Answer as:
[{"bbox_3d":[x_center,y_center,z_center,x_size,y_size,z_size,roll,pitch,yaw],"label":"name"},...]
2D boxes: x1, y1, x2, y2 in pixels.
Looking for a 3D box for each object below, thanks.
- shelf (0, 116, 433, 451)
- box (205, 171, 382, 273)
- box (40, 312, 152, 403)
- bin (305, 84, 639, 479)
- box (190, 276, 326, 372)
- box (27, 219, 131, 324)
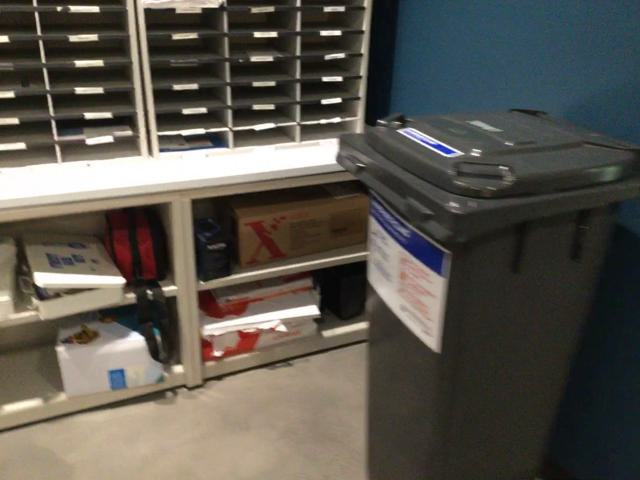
[{"bbox_3d":[-0.510,0.080,1.900,1.650,0.790,0.490,-8,27,-23],"label":"shelf"},{"bbox_3d":[-0.100,-0.080,2.050,0.540,0.200,0.300,-8,27,-23],"label":"box"},{"bbox_3d":[-0.680,0.360,1.790,0.290,0.190,0.160,-3,26,-14],"label":"box"},{"bbox_3d":[0.350,0.230,1.380,0.570,1.030,0.510,-13,29,-20],"label":"bin"},{"bbox_3d":[-0.210,0.280,1.980,0.430,0.200,0.150,-8,27,-23],"label":"box"},{"bbox_3d":[-0.730,0.080,1.740,0.250,0.140,0.350,-8,27,-23],"label":"box"}]
